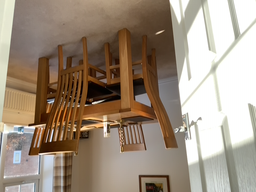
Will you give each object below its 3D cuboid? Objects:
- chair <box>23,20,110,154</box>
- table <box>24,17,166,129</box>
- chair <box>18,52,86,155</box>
[{"bbox_3d":[-0.530,-0.030,1.950,0.490,1.040,0.540,-10,165,24],"label":"chair"},{"bbox_3d":[-0.340,-0.110,2.270,1.200,0.760,0.790,-11,164,27],"label":"table"},{"bbox_3d":[-0.850,0.120,2.460,0.530,1.050,0.470,-10,164,26],"label":"chair"}]
